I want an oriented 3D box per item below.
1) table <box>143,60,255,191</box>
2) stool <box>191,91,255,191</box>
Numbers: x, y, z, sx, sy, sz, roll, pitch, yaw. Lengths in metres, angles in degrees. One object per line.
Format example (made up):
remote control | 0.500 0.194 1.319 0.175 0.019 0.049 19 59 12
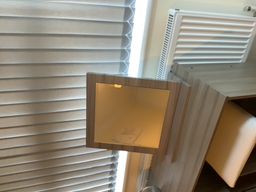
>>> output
table | 0.600 0.400 1.450 0.410 0.770 1.190 -125 36 -53
stool | 0.770 0.260 1.340 0.330 0.510 0.470 -125 37 -52
